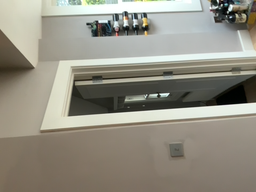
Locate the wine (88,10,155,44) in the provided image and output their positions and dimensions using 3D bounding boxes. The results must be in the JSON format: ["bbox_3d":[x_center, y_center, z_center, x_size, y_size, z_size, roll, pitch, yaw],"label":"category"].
[{"bbox_3d":[-0.080,-0.790,2.420,0.070,0.730,0.390,100,165,-70],"label":"wine"}]
